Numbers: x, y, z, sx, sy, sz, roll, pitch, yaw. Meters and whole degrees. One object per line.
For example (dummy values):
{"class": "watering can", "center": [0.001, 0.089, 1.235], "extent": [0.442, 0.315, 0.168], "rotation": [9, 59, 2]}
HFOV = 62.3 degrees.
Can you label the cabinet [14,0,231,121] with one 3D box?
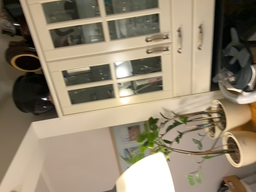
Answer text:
{"class": "cabinet", "center": [0.000, -0.320, 1.150], "extent": [0.400, 0.900, 0.650], "rotation": [-106, 7, -62]}
